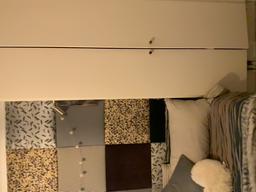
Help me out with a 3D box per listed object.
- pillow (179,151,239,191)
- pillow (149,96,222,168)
[{"bbox_3d":[0.660,0.710,1.700,0.400,0.310,0.170,-40,-4,-39],"label":"pillow"},{"bbox_3d":[0.520,0.320,1.970,0.480,0.410,0.190,-47,2,-3],"label":"pillow"}]
